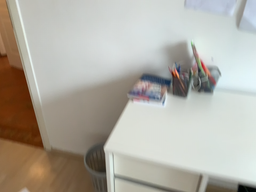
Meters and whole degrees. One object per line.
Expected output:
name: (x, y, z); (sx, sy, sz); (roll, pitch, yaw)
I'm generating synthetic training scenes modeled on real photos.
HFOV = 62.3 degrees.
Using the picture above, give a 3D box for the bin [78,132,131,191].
bin: (-0.140, 0.470, 1.430); (0.250, 0.290, 0.300); (7, 32, 11)
